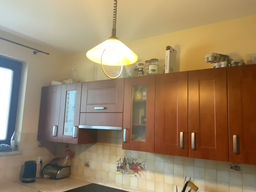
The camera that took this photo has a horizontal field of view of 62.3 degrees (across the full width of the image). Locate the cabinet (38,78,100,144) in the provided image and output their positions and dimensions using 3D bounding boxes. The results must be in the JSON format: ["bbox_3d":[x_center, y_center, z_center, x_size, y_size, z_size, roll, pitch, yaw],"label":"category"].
[{"bbox_3d":[-0.780,0.200,2.780,0.720,0.770,0.330,-2,-9,33],"label":"cabinet"}]
